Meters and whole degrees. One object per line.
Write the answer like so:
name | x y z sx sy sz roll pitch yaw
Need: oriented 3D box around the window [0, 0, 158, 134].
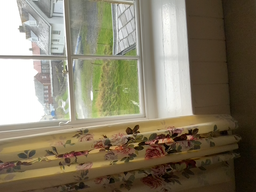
window | -0.390 -0.270 1.470 0.080 1.310 0.950 -169 77 -67
